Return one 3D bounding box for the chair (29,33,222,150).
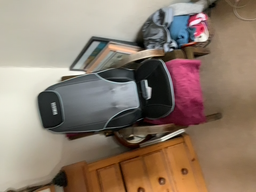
[{"bbox_3d":[-0.030,0.000,1.570,0.870,1.070,0.500,-13,84,51],"label":"chair"}]
